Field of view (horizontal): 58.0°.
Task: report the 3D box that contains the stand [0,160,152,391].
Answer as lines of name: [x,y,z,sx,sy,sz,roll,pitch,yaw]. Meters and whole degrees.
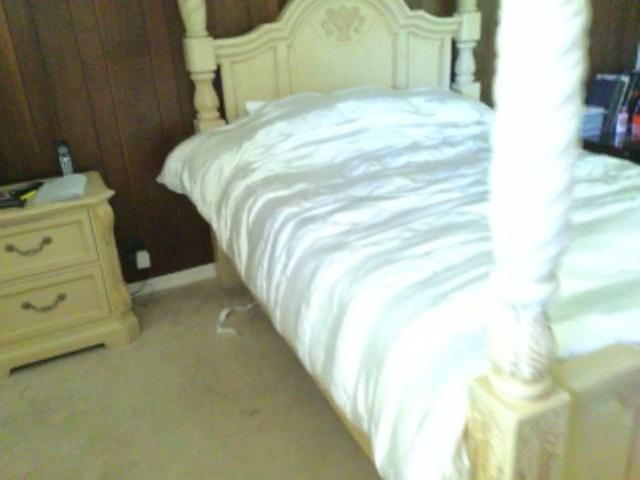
stand: [-1.240,0.140,2.510,0.770,0.740,0.510,-16,25,-21]
